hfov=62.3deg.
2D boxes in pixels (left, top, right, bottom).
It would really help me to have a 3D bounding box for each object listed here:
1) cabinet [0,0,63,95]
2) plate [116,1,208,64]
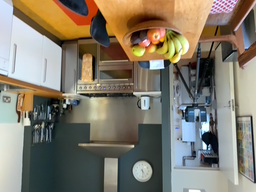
[{"bbox_3d":[-1.440,-0.540,2.880,0.610,0.920,1.100,-1,174,10],"label":"cabinet"},{"bbox_3d":[0.190,-0.340,1.230,0.450,0.200,0.350,-1,174,10],"label":"plate"}]
